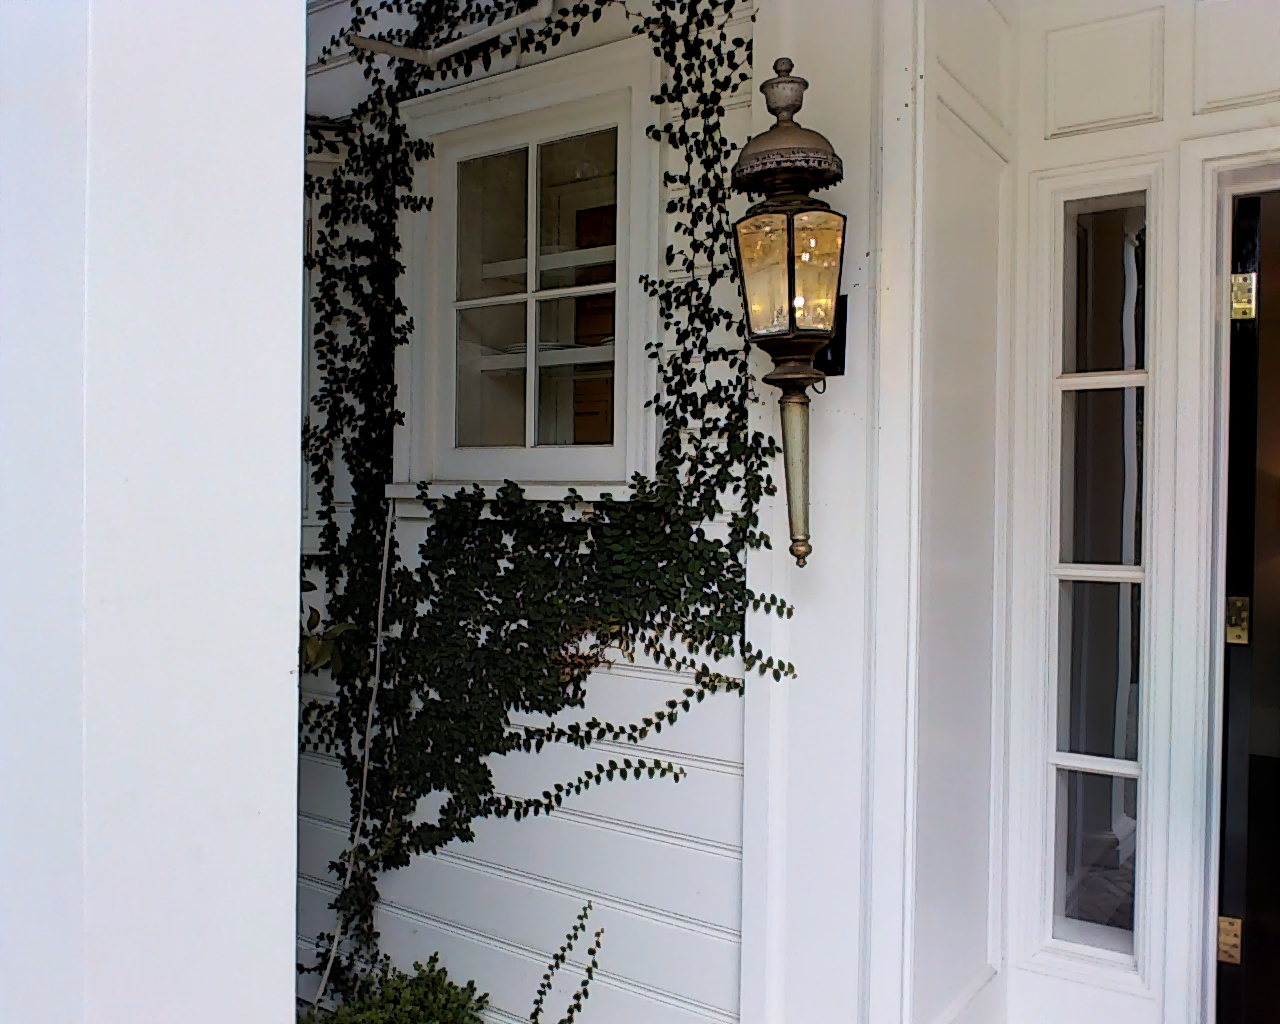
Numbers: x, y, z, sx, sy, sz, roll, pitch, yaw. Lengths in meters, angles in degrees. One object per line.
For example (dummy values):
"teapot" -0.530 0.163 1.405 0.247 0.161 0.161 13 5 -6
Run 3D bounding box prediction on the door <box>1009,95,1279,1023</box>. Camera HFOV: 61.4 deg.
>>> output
"door" 1.640 0.270 2.070 1.720 2.200 0.210 2 2 34

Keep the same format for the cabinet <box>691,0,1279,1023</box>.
"cabinet" 0.990 0.050 2.380 1.960 2.280 0.080 2 2 34
